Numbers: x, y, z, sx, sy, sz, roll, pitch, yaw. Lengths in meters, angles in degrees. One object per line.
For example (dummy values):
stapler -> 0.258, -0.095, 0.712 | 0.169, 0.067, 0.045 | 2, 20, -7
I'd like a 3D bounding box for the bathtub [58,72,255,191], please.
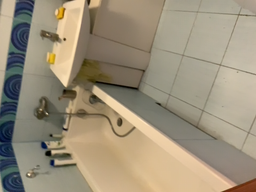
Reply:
bathtub -> 0.060, 0.410, 1.610 | 1.570, 0.570, 0.700 | 33, 111, 48
